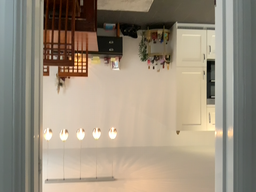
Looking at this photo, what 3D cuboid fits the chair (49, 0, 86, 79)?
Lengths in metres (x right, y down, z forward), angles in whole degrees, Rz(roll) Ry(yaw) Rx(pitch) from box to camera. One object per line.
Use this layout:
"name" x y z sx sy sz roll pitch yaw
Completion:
"chair" -0.840 -0.840 3.030 0.430 1.160 0.510 0 180 -7

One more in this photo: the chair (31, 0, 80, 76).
"chair" -0.820 -0.840 2.490 0.430 1.160 0.550 0 180 -5
